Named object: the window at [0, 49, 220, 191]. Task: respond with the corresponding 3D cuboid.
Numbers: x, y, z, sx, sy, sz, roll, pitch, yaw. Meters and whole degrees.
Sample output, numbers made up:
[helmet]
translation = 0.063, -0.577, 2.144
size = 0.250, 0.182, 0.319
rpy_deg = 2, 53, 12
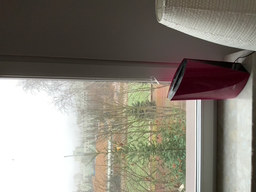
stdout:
[window]
translation = -0.050, 0.230, 1.090
size = 0.100, 1.110, 0.860
rpy_deg = 177, 94, -77
